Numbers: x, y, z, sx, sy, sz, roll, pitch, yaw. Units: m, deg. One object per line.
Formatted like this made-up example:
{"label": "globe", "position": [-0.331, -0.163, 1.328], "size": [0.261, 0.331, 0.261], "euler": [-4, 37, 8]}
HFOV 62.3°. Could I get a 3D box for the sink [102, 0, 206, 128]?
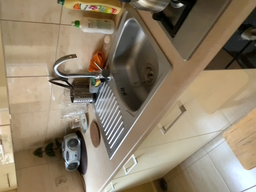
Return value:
{"label": "sink", "position": [0.070, -0.150, 1.000], "size": [0.400, 0.170, 0.440], "euler": [-60, 44, 45]}
